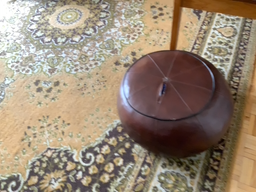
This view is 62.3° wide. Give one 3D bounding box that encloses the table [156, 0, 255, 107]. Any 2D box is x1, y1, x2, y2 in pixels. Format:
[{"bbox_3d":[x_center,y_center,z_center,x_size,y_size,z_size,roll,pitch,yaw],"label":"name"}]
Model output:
[{"bbox_3d":[0.640,-0.660,1.170,0.550,0.570,1.260,18,59,17],"label":"table"}]
